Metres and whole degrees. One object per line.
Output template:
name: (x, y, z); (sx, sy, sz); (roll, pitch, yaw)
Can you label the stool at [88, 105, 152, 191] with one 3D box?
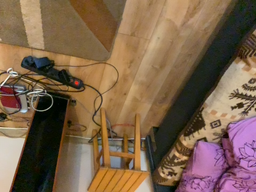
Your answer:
stool: (-0.080, 0.370, 1.470); (0.320, 0.480, 0.330); (9, 133, -16)
